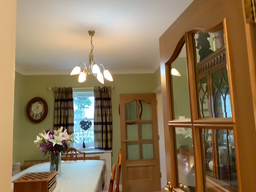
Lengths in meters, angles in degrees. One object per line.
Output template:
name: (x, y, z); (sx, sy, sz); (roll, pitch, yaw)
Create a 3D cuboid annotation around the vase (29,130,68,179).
vase: (-0.930, 0.670, 2.510); (0.360, 0.510, 0.300); (-2, -6, -6)
